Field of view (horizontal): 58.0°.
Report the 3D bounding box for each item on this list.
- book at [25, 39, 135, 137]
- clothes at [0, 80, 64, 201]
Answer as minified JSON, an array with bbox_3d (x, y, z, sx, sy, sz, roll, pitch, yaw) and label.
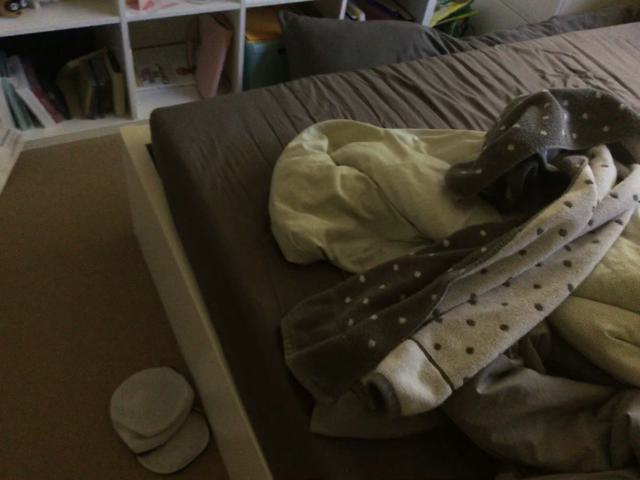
[{"bbox_3d":[-0.730,-0.470,1.770,0.250,0.170,0.200,-17,53,-22],"label":"book"},{"bbox_3d":[-0.960,-0.260,1.610,0.380,0.170,0.290,-17,53,-22],"label":"clothes"}]
